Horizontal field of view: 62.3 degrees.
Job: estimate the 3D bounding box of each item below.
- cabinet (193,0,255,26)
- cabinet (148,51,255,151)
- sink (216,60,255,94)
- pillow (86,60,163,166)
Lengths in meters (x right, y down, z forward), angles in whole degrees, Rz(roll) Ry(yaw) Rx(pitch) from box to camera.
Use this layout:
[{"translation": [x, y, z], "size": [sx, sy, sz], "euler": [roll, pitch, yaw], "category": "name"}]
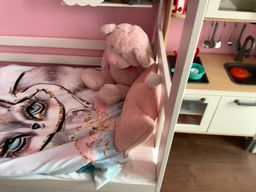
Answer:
[{"translation": [0.550, -0.510, 1.090], "size": [0.340, 0.210, 0.210], "euler": [3, 41, 1], "category": "cabinet"}, {"translation": [0.520, 0.040, 1.460], "size": [0.710, 0.540, 0.370], "euler": [3, 41, 1], "category": "cabinet"}, {"translation": [0.700, -0.120, 1.290], "size": [0.240, 0.080, 0.230], "euler": [3, 41, 1], "category": "sink"}, {"translation": [-0.010, 0.060, 0.990], "size": [0.270, 0.250, 0.430], "euler": [2, 41, 0], "category": "pillow"}]
